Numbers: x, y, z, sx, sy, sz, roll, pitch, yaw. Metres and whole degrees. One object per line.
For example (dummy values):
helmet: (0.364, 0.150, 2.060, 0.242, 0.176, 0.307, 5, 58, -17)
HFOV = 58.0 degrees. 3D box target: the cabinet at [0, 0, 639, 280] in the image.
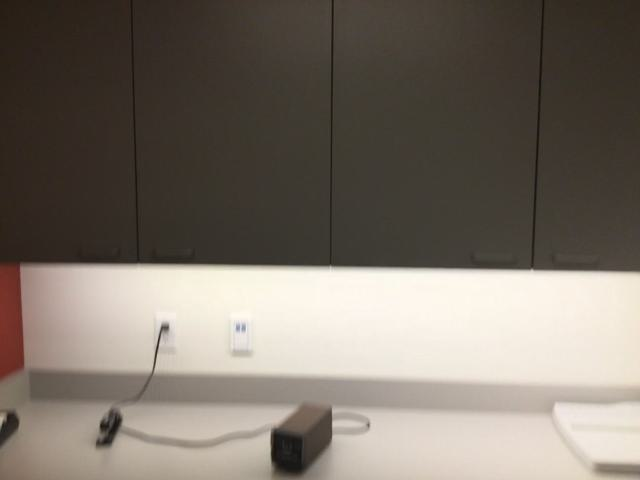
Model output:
cabinet: (0.030, -0.450, 1.380, 2.010, 1.080, 0.140, 0, 3, 4)

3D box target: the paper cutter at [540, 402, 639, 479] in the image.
paper cutter: (0.820, 0.530, 1.480, 0.350, 0.060, 0.490, 0, 3, 4)
